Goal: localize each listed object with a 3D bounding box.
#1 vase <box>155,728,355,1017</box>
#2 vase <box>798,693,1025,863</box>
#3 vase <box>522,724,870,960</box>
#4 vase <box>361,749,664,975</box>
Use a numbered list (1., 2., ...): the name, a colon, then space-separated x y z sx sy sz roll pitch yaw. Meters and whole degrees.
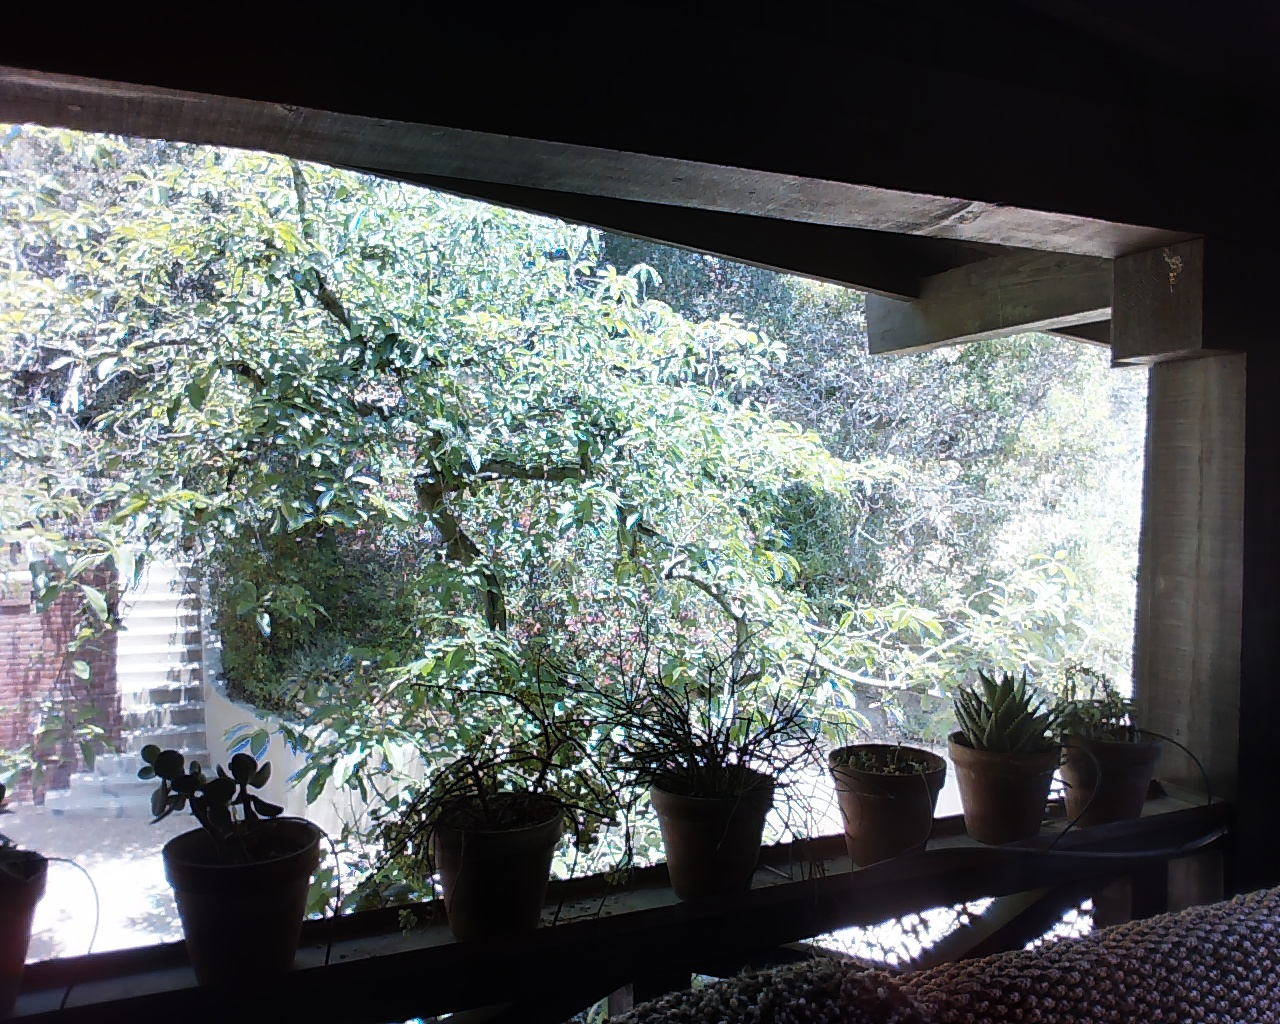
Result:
1. vase: -0.690 0.620 1.920 0.310 0.400 0.240 1 1 -25
2. vase: 0.610 0.600 2.490 0.410 0.300 0.360 1 1 -5
3. vase: 0.130 0.630 2.150 0.630 0.300 0.380 1 1 13
4. vase: -0.250 0.660 2.100 0.540 0.310 0.230 1 1 -22
